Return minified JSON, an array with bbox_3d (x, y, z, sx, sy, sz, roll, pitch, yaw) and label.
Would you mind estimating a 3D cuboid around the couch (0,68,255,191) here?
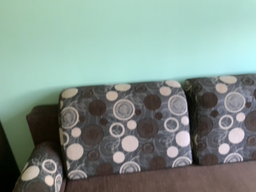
[{"bbox_3d":[0.380,0.450,1.210,2.010,0.880,0.930,-5,26,-3],"label":"couch"}]
